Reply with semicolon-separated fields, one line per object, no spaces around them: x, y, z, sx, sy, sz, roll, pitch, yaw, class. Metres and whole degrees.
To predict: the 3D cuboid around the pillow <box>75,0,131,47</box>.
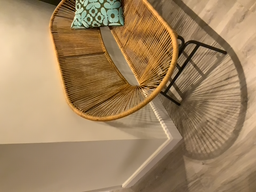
-0.200;-0.770;1.760;0.220;0.500;0.520;-19;33;19;pillow

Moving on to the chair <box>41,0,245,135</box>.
-0.060;-0.520;1.670;0.730;0.880;1.450;-54;45;34;chair
